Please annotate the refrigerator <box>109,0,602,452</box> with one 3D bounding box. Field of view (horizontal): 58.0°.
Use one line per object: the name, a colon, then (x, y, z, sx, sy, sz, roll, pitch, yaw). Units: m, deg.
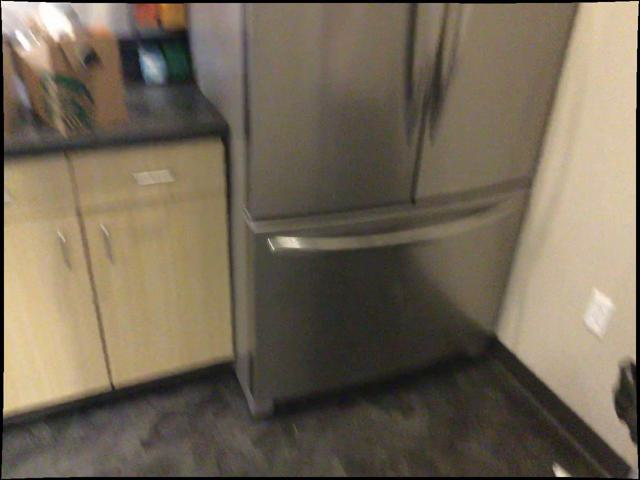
refrigerator: (0.010, -0.441, 1.750, 1.118, 1.753, 0.870, -10, 33, -18)
